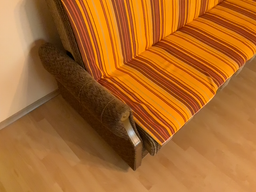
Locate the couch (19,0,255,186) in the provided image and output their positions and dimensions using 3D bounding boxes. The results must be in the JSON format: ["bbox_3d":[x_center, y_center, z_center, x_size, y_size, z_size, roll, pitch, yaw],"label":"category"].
[{"bbox_3d":[0.530,-0.590,1.690,2.180,0.940,1.010,-36,60,-27],"label":"couch"}]
